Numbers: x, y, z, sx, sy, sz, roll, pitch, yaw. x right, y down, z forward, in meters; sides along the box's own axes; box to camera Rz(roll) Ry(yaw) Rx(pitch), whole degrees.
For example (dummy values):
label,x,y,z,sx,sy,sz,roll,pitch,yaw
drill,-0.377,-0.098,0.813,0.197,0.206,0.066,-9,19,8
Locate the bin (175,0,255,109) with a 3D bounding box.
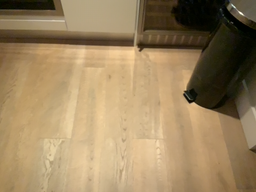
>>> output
label,x,y,z,sx,sy,sz,roll,pitch,yaw
bin,0.570,-0.230,1.290,0.380,0.610,0.360,1,57,-2
